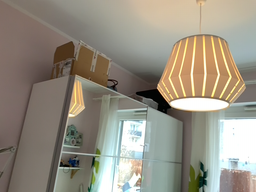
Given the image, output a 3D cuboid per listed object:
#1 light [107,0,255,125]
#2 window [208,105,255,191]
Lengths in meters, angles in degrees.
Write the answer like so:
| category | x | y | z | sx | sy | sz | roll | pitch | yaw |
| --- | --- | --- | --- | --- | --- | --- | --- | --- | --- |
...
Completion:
| category | x | y | z | sx | sy | sz | roll | pitch | yaw |
| --- | --- | --- | --- | --- | --- | --- | --- | --- | --- |
| light | 0.500 | -0.370 | 1.590 | 0.930 | 0.620 | 0.710 | -43 | -35 | 15 |
| window | 1.560 | 1.000 | 2.600 | 1.060 | 1.770 | 0.180 | -4 | -18 | 34 |
